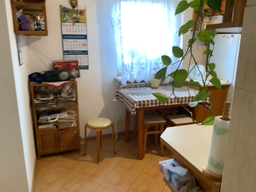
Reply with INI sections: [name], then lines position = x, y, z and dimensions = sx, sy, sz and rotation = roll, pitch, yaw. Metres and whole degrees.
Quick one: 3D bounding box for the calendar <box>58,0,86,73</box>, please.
[calendar]
position = -0.700, -0.770, 2.650
dimensions = 0.290, 0.940, 0.080
rotation = -4, 16, -20
